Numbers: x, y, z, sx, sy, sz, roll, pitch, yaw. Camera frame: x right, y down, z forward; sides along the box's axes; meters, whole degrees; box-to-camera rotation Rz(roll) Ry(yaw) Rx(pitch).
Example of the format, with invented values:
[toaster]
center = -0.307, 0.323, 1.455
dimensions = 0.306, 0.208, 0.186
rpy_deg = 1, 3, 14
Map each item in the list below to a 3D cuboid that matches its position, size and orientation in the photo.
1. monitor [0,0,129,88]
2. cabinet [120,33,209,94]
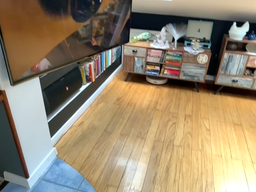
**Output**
[monitor]
center = -0.340, -0.600, 1.540
dimensions = 0.060, 0.710, 1.180
rpy_deg = 20, 34, 27
[cabinet]
center = 0.540, -0.540, 3.300
dimensions = 1.200, 0.630, 0.590
rpy_deg = 10, 30, 12
